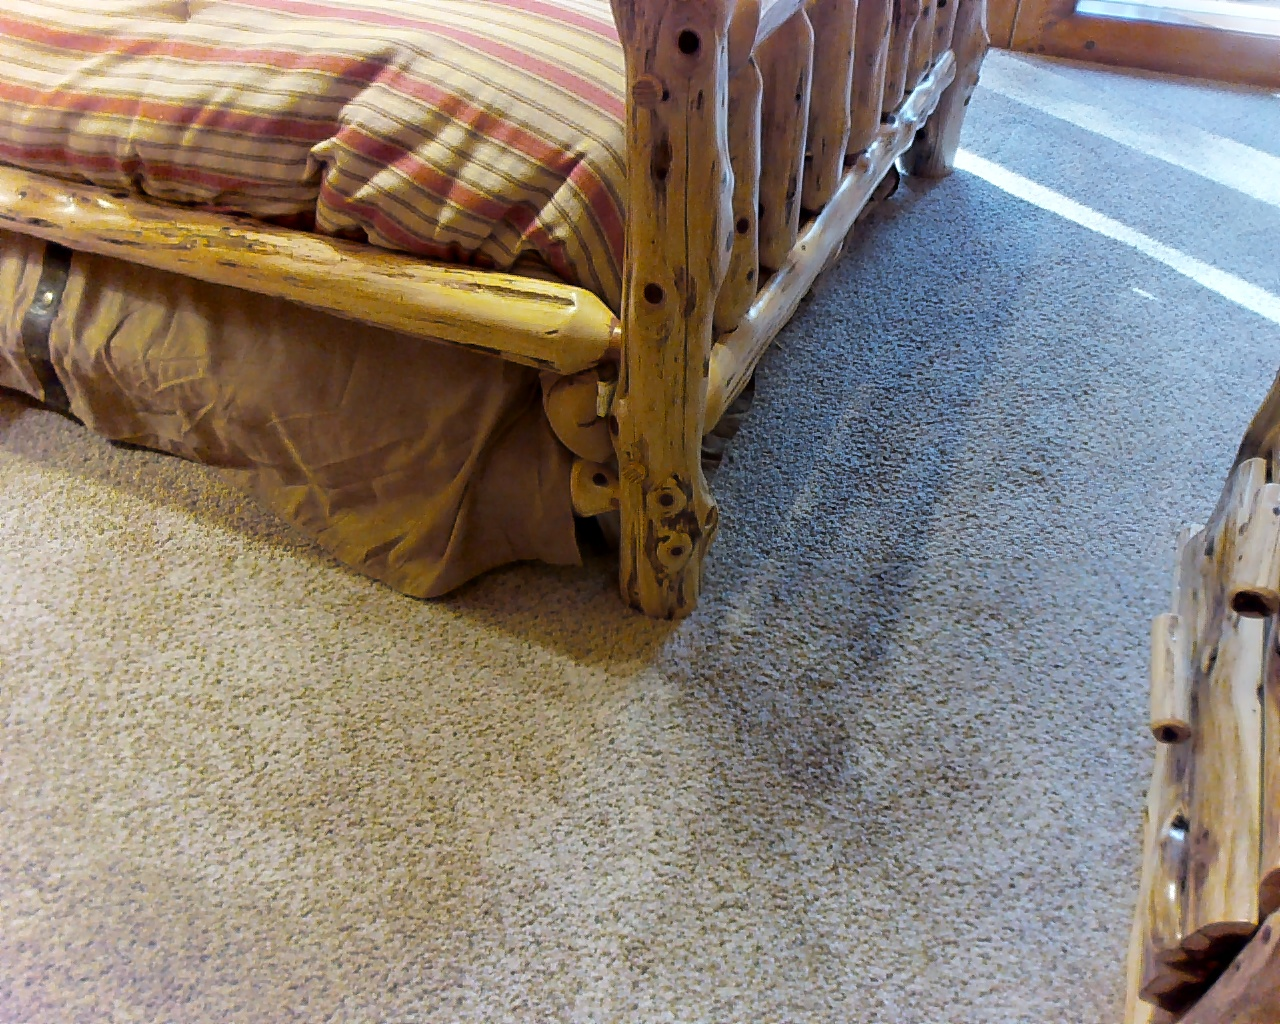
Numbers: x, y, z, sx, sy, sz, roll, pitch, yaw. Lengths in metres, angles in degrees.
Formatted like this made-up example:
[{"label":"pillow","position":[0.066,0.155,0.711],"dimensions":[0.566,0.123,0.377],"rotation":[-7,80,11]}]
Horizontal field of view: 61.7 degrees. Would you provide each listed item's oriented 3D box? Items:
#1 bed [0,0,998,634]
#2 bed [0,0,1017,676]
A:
[{"label":"bed","position":[-0.640,-1.060,2.220],"dimensions":[2.479,0.910,1.850],"rotation":[16,44,16]},{"label":"bed","position":[-0.510,-1.040,2.220],"dimensions":[2.300,0.920,2.030],"rotation":[16,44,16]}]
